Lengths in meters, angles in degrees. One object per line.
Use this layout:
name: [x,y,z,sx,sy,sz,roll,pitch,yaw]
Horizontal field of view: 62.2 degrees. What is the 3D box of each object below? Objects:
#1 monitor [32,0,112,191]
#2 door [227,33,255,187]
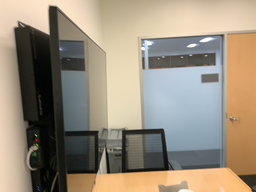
monitor: [-0.190,0.070,1.280,0.070,0.850,1.440,-4,9,-1]
door: [1.940,0.240,3.150,0.890,2.290,0.060,-3,7,-1]
